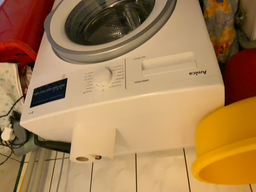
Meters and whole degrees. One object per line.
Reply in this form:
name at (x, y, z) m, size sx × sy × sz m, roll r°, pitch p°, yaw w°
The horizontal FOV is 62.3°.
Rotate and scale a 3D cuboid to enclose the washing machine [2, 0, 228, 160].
washing machine at (0.000, -0.230, 0.940) m, size 0.600 × 0.840 × 0.470 m, roll -10°, pitch 145°, yaw 15°
